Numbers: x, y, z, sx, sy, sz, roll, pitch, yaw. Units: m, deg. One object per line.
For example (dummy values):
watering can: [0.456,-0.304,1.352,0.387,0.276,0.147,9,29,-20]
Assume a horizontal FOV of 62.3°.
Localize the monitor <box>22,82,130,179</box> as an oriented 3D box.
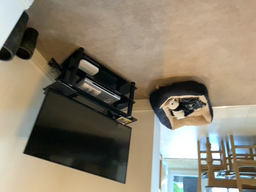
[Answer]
monitor: [-0.370,0.340,1.910,0.950,0.590,0.050,31,141,-34]
